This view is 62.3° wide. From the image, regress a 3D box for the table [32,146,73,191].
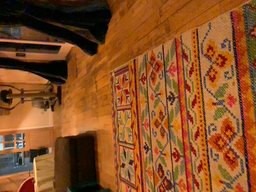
[{"bbox_3d":[-1.850,1.970,5.090,1.070,0.770,1.050,25,113,60],"label":"table"}]
